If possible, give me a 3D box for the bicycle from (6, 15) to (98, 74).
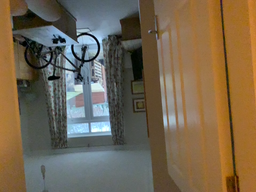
[{"bbox_3d":[-1.510,-1.000,4.360,1.600,0.960,0.590,-4,-176,4],"label":"bicycle"}]
